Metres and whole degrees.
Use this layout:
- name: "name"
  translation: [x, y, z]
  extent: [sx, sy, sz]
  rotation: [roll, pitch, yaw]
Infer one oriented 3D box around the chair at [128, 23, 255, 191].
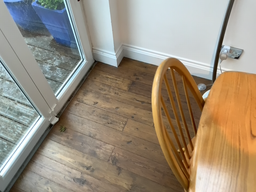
- name: "chair"
  translation: [0.320, 0.270, 0.920]
  extent: [0.480, 0.960, 0.440]
  rotation: [16, 57, 13]
